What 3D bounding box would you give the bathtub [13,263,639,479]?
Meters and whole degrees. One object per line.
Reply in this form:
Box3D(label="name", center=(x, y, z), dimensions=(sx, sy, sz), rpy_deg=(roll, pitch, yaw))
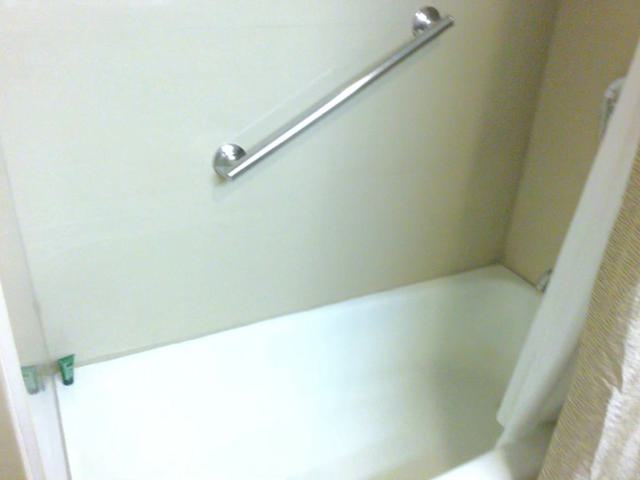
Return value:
Box3D(label="bathtub", center=(0.100, 0.510, 1.470), dimensions=(1.510, 0.410, 0.760), rpy_deg=(-7, 27, -23))
